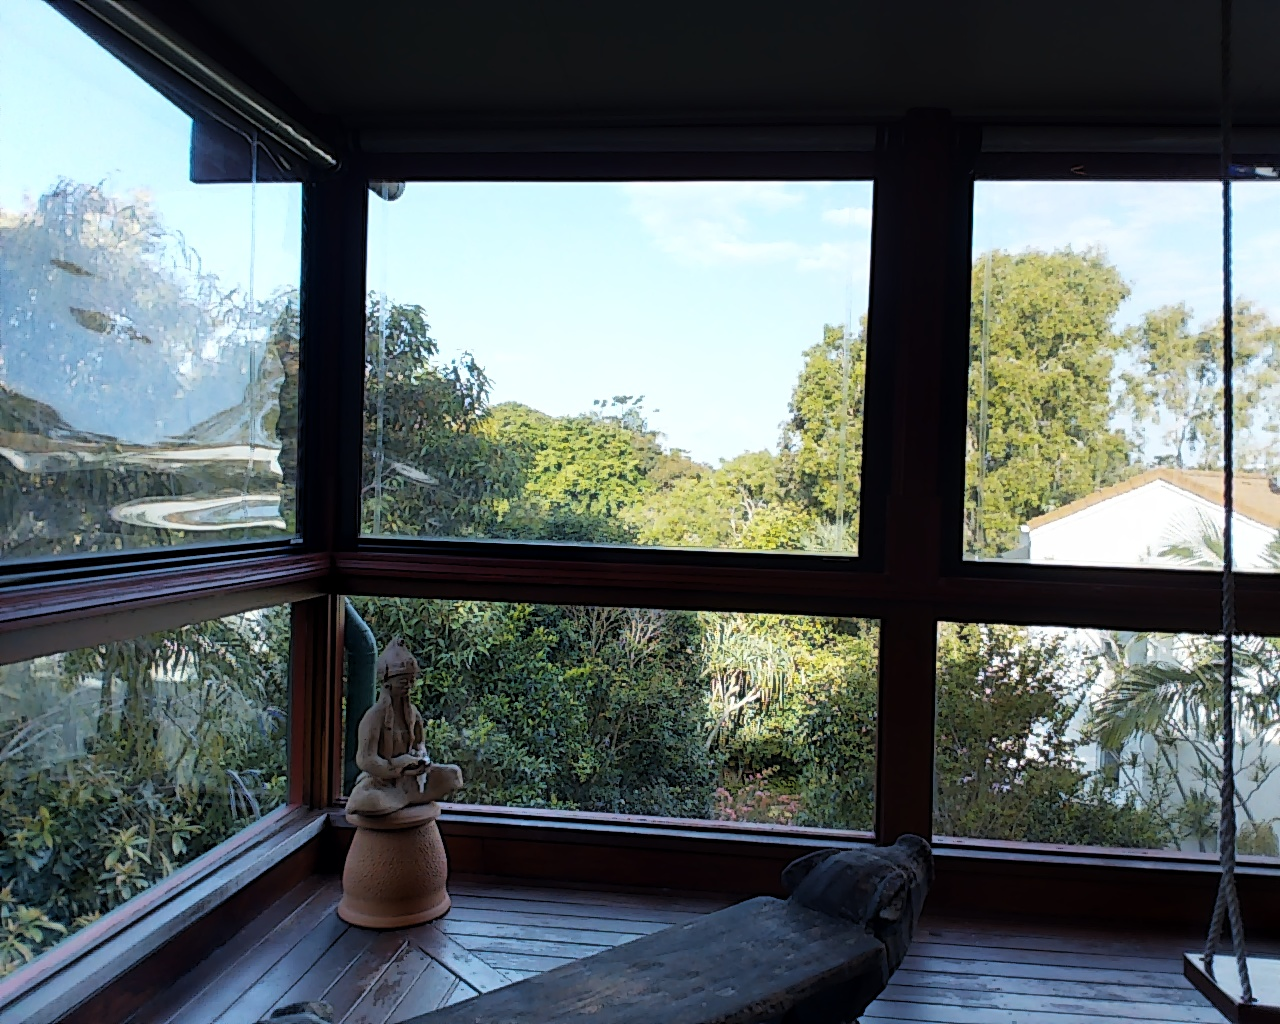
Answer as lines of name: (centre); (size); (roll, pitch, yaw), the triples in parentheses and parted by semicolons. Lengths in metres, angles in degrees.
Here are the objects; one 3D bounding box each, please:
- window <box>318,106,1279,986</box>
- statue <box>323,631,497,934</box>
window: (0.900, 0.070, 3.080); (3.679, 2.371, 0.160); (2, 1, 7)
statue: (-0.620, 0.700, 2.900); (0.370, 0.710, 0.250); (1, 1, -38)
